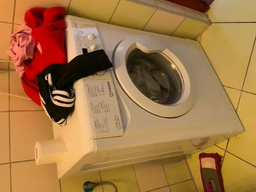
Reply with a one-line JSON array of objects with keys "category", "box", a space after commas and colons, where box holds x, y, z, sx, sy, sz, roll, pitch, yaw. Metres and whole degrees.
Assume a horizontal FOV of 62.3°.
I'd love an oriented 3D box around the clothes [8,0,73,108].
[{"category": "clothes", "box": [-0.410, -0.160, 0.930, 0.430, 0.180, 0.280, -42, 55, 50]}]
